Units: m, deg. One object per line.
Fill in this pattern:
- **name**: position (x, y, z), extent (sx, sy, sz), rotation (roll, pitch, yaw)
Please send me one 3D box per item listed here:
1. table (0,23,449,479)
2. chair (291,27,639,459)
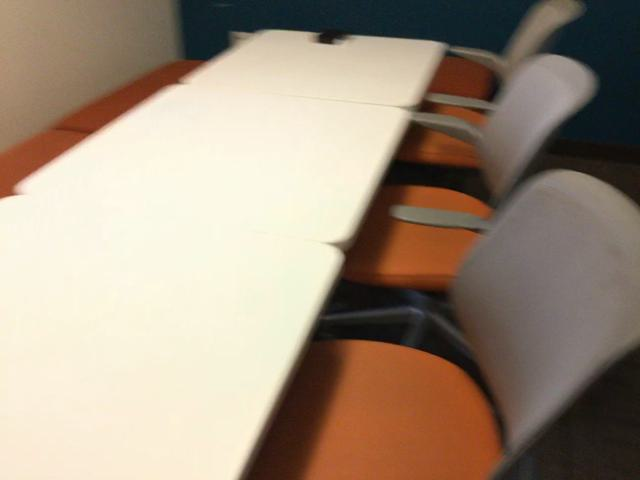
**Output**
- **table**: position (-0.210, -0.260, 1.510), extent (0.820, 0.090, 2.190), rotation (9, 34, 15)
- **chair**: position (0.300, 0.000, 1.600), extent (0.660, 0.950, 0.630), rotation (5, 34, 5)
